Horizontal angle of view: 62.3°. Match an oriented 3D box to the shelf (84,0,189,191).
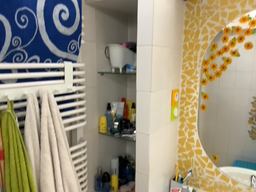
[{"bbox_3d":[0.050,0.010,1.190,0.400,1.170,0.390,8,12,34],"label":"shelf"}]
